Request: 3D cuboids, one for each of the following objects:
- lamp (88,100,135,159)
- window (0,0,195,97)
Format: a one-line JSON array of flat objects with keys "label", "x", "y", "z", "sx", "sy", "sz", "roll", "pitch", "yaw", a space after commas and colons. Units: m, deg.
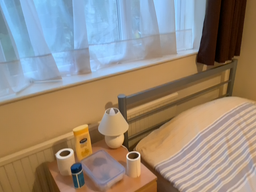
[{"label": "lamp", "x": -0.090, "y": 0.180, "z": 1.180, "sx": 0.180, "sy": 0.230, "sz": 0.170, "roll": -16, "pitch": 26, "yaw": -27}, {"label": "window", "x": -0.270, "y": -0.720, "z": 1.270, "sx": 1.890, "sy": 1.180, "sz": 0.150, "roll": -18, "pitch": 27, "yaw": -30}]
